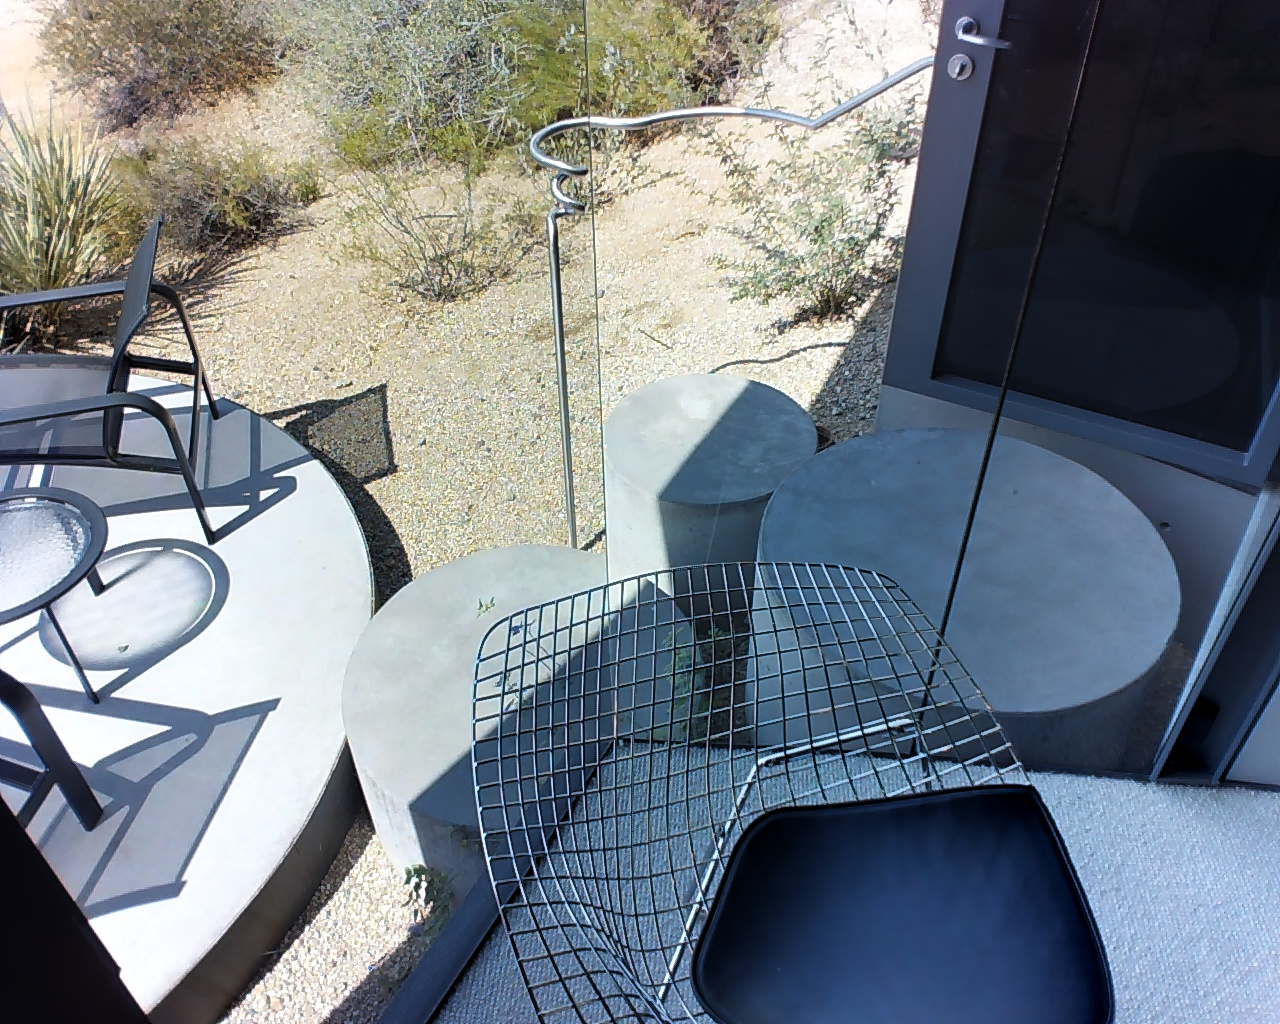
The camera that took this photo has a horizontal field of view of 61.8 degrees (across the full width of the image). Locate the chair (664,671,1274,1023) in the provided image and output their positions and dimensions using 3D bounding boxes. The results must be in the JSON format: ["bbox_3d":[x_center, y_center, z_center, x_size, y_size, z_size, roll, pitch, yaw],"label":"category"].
[{"bbox_3d":[0.360,0.630,1.400,0.510,0.490,0.550,-12,42,-11],"label":"chair"}]
